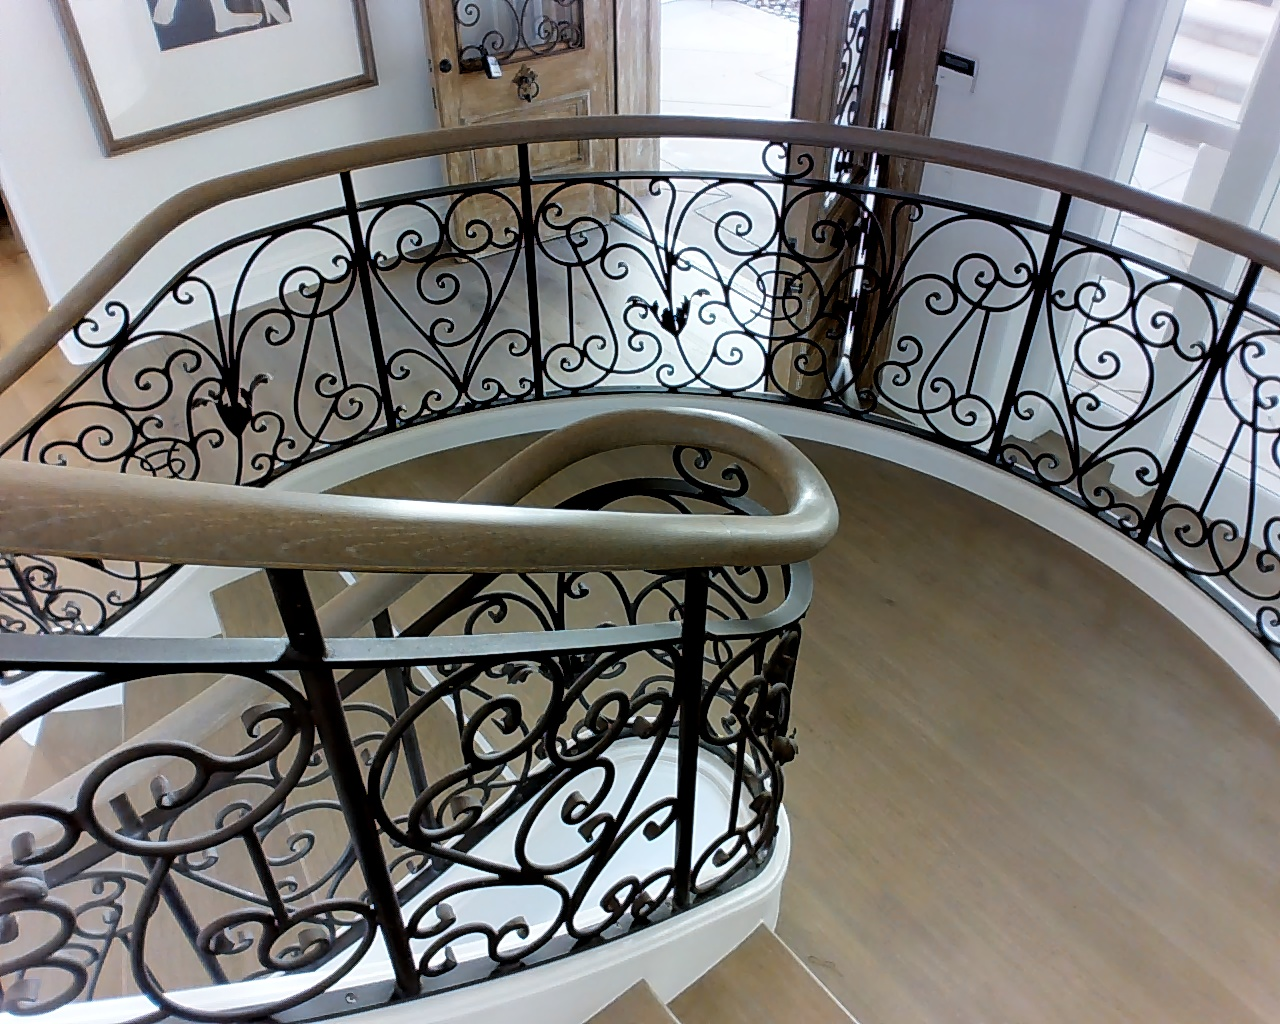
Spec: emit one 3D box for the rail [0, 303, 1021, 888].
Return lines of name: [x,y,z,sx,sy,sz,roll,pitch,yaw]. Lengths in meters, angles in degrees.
rail: [-0.430,0.190,3.250,2.880,0.960,0.720,-11,44,-12]
